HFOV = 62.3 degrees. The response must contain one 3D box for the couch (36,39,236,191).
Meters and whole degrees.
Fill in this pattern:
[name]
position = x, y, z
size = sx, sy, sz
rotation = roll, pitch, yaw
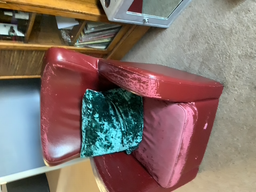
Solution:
[couch]
position = -0.020, 0.120, 1.310
size = 0.780, 0.840, 0.760
rotation = 27, 115, 48
